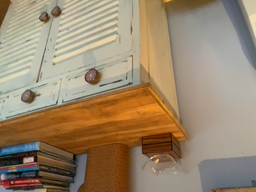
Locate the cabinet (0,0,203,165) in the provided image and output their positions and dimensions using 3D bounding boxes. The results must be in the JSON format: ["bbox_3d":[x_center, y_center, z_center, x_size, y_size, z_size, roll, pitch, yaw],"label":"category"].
[{"bbox_3d":[-0.200,-0.260,1.090,0.890,1.050,0.430,-13,149,23],"label":"cabinet"}]
